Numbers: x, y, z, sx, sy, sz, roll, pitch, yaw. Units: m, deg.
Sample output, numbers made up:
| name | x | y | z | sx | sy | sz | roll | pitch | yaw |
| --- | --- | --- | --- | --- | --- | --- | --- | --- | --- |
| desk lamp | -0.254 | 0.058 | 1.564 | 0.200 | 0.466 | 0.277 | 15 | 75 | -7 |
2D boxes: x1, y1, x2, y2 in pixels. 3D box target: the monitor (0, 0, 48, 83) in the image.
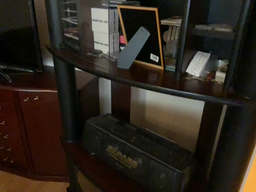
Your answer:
| name | x | y | z | sx | sy | sz | roll | pitch | yaw |
| --- | --- | --- | --- | --- | --- | --- | --- | --- | --- |
| monitor | -0.990 | -0.460 | 1.460 | 0.940 | 0.610 | 0.060 | 12 | 27 | 20 |
